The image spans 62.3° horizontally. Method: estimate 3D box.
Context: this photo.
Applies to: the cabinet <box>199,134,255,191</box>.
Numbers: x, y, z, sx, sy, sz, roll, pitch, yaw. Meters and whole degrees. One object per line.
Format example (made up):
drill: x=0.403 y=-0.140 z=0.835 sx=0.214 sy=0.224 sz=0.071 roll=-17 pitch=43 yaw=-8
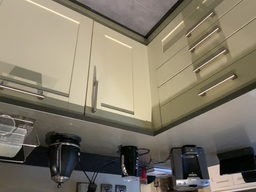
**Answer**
cabinet: x=1.970 y=1.320 z=4.080 sx=0.390 sy=0.820 sz=1.040 roll=16 pitch=145 yaw=-27
